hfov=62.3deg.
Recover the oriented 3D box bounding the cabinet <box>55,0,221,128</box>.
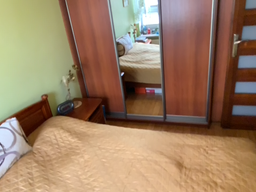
[{"bbox_3d":[0.140,-0.890,2.660,1.800,2.540,0.630,2,28,17],"label":"cabinet"}]
